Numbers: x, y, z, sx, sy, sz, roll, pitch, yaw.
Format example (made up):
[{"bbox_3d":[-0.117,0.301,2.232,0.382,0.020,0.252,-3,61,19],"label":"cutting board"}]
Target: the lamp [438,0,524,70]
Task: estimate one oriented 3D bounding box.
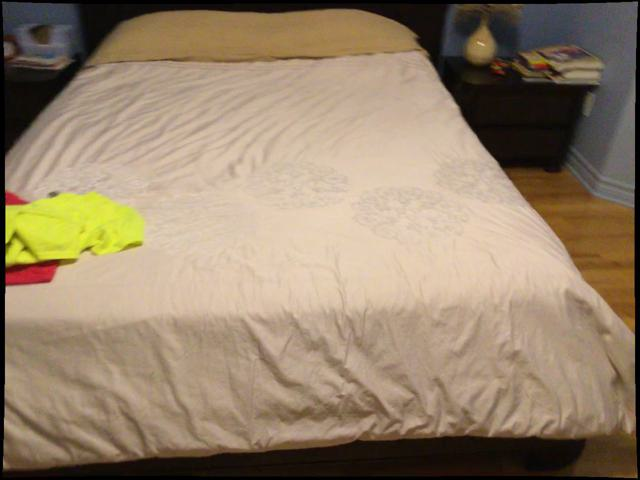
[{"bbox_3d":[0.759,-1.061,2.750,0.280,0.400,0.310,-2,34,-3],"label":"lamp"}]
